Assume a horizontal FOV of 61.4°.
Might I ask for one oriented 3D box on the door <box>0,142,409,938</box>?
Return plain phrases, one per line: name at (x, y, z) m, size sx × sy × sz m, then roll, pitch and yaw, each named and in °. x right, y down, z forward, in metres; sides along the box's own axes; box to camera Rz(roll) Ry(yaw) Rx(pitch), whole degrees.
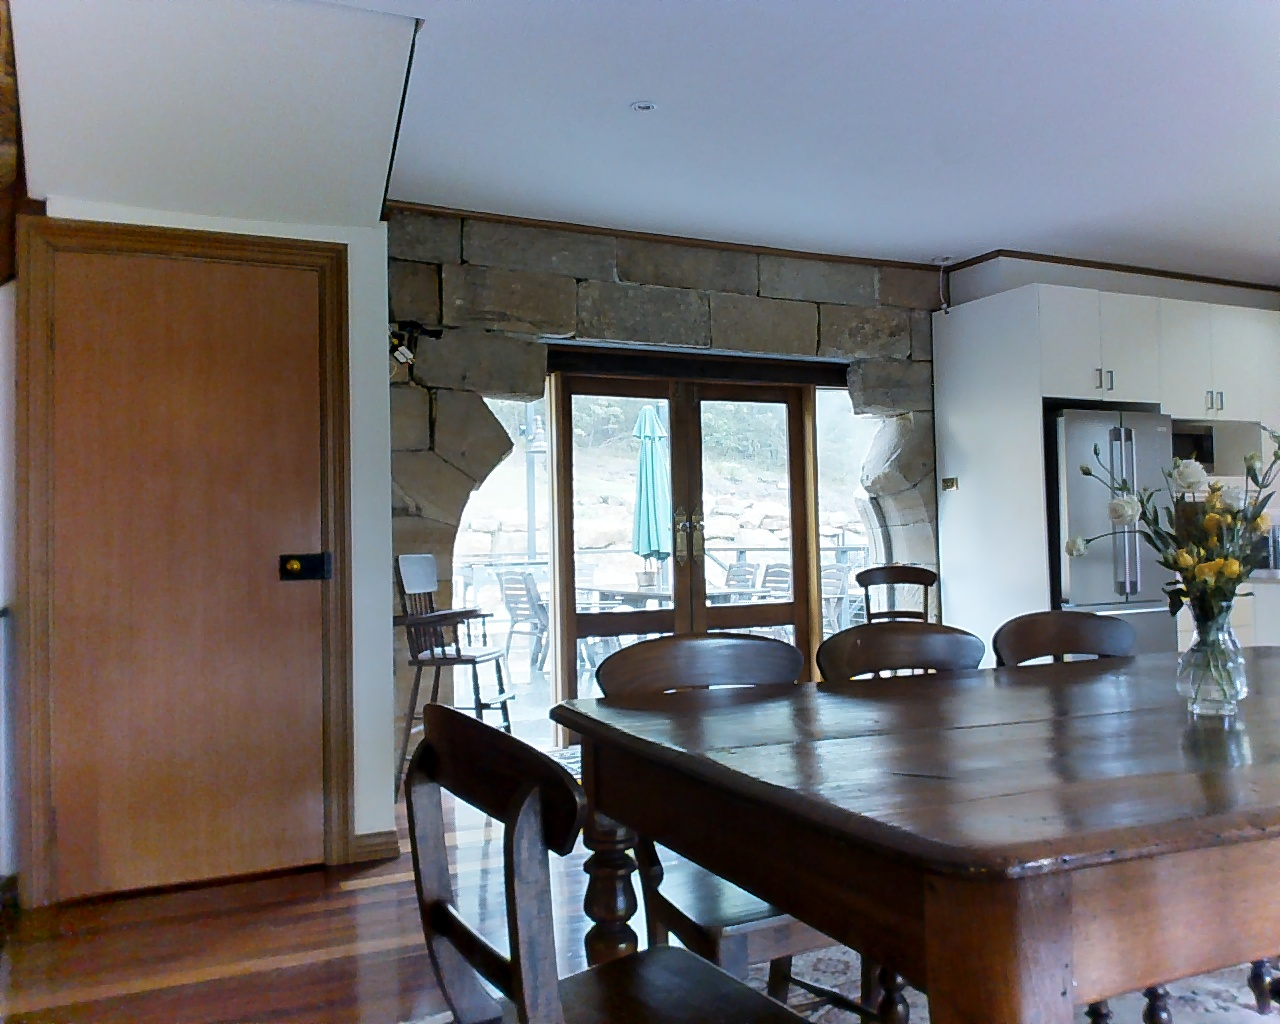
door at (-1.419, 0.070, 3.580) m, size 1.240 × 2.401 × 0.160 m, roll 0°, pitch -2°, yaw -25°
